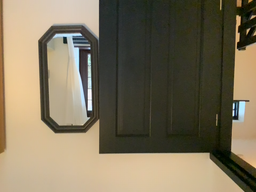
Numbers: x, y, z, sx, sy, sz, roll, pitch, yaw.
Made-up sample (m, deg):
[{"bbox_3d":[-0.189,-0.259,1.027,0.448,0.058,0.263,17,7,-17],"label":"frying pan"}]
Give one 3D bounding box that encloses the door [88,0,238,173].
[{"bbox_3d":[0.210,-0.570,1.300,0.890,2.110,0.080,0,-176,-1],"label":"door"}]
